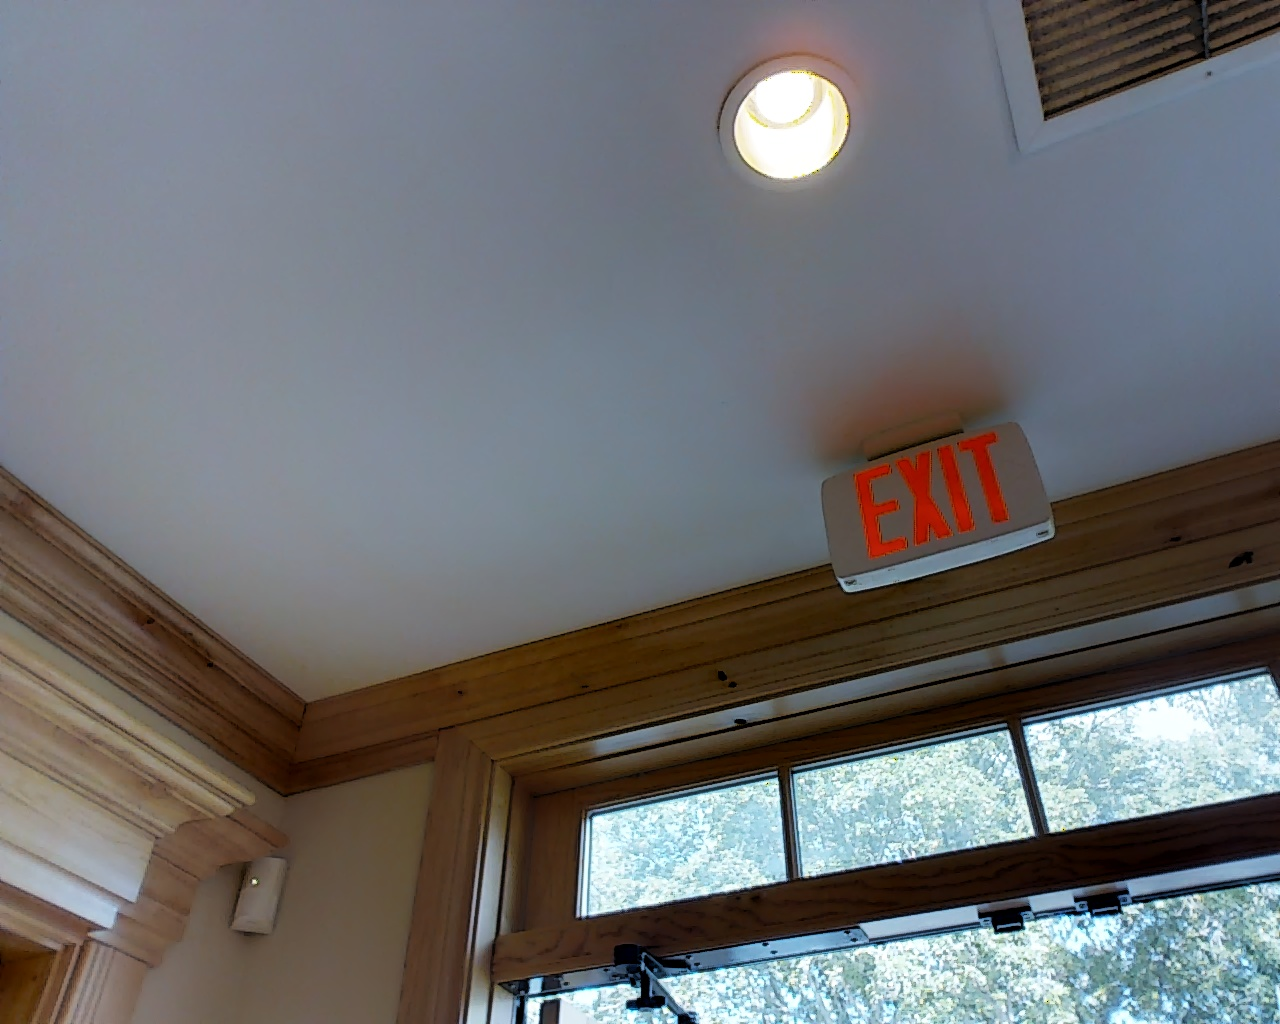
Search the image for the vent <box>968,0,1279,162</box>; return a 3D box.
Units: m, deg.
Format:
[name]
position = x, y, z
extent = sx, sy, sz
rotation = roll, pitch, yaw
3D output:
[vent]
position = 0.510, -0.560, 1.030
extent = 0.380, 0.020, 0.350
rotation = -17, -45, 18
